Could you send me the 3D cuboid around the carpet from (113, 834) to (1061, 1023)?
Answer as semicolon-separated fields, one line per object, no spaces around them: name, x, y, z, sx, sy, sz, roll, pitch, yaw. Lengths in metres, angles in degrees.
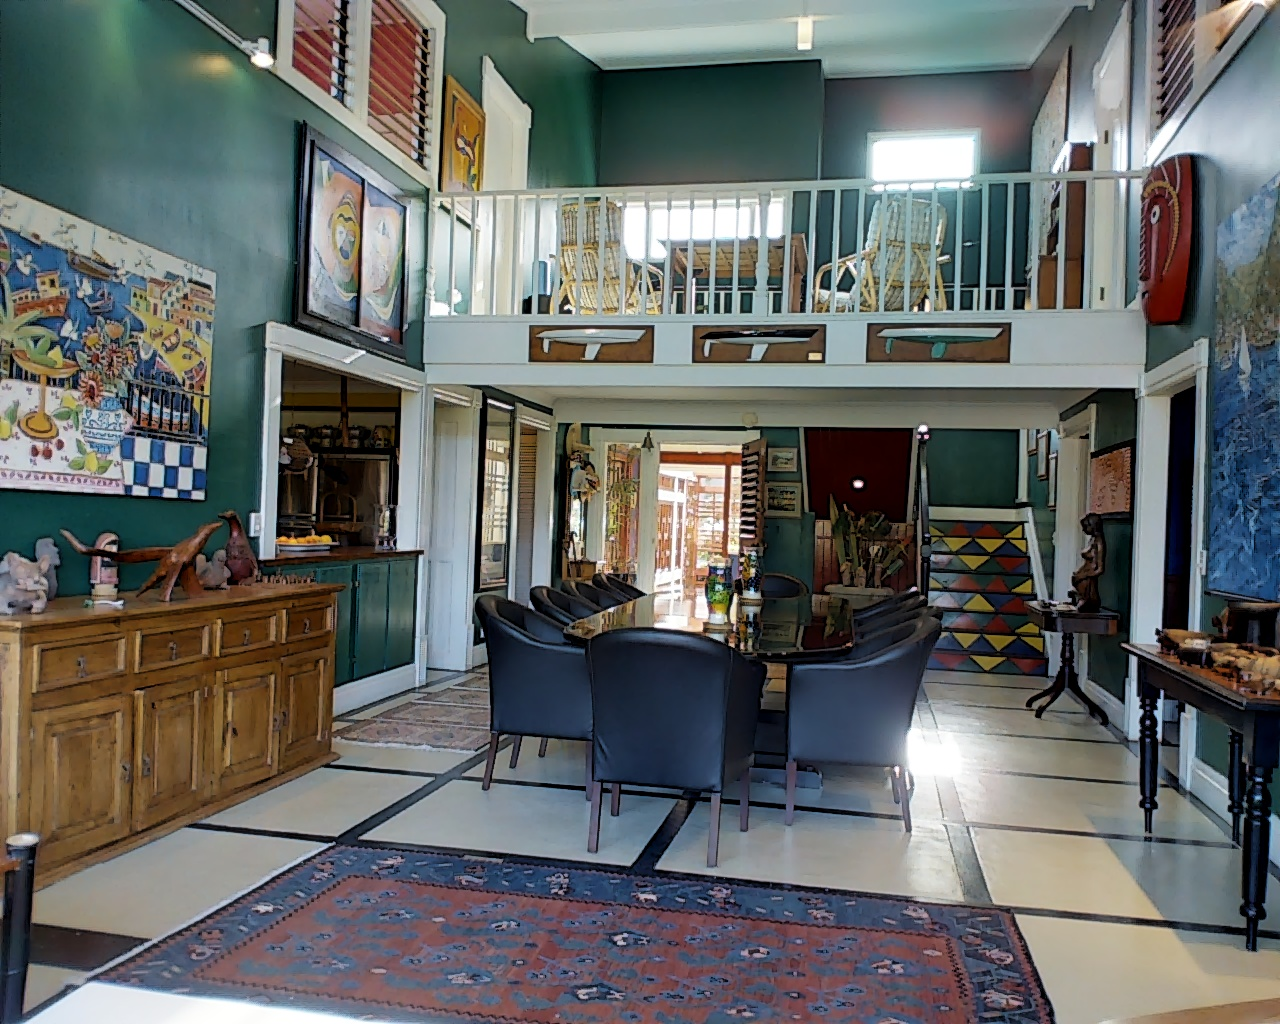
carpet;-0.080;1.260;3.220;2.449;0.010;1.250;2;0;13

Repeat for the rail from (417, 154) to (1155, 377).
rail;0.800;-1.541;6.990;4.609;1.260;0.380;2;0;12

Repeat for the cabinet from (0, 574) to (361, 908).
cabinet;-1.919;0.760;4.370;0.600;0.890;2.130;2;0;12
